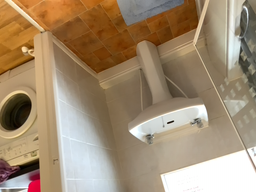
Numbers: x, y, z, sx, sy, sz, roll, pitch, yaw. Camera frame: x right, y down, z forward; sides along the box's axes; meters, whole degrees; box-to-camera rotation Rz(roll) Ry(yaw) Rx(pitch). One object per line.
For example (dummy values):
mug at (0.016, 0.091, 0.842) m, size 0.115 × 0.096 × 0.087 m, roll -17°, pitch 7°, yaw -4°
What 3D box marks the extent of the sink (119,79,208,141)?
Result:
sink at (0.290, 0.140, 1.650) m, size 0.580 × 0.190 × 0.400 m, roll -22°, pitch 153°, yaw 14°
